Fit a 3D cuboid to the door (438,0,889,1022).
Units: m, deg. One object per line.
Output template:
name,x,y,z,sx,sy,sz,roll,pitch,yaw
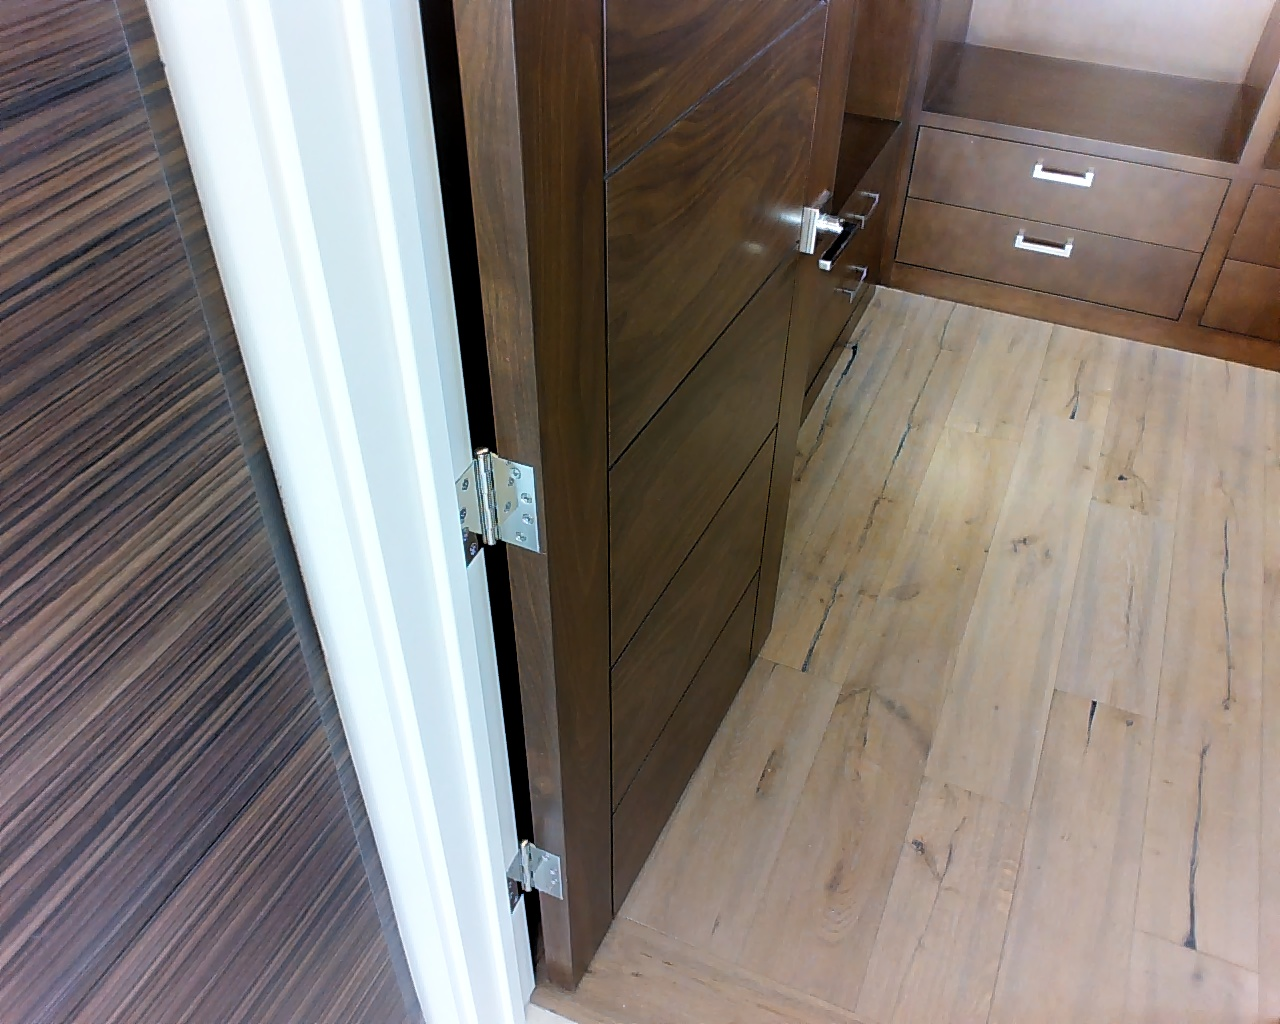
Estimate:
door,0.100,-0.480,1.040,0.040,2.530,0.910,19,44,20
